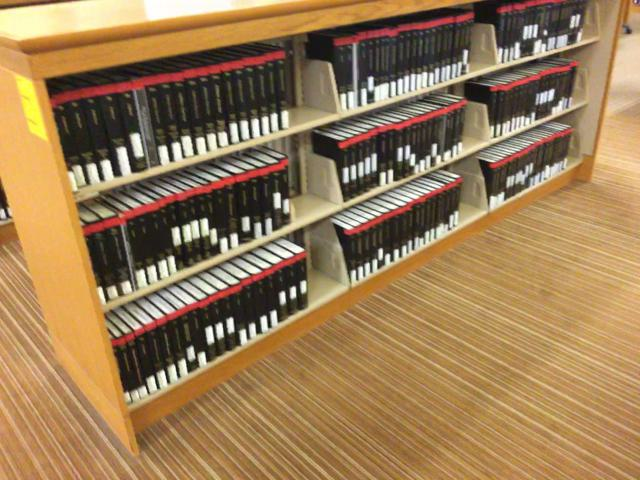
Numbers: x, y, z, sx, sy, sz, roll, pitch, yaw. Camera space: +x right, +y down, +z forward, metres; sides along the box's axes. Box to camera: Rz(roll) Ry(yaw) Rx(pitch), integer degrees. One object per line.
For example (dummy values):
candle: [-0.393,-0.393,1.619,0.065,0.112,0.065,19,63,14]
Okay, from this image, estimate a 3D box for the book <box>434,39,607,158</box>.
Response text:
book: [0.980,-0.710,2.780,0.930,0.300,0.290,-27,32,-30]

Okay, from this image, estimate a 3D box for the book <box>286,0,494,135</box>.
book: [0.290,-0.670,2.110,0.810,0.310,0.220,-27,32,-30]

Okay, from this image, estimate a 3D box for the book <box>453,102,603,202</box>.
book: [1.050,-0.460,2.880,0.850,0.200,0.260,-27,32,-30]

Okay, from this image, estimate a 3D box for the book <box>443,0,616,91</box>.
book: [0.970,-0.970,2.620,0.890,0.330,0.280,-27,32,-30]

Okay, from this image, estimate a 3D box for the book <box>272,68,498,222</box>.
book: [0.290,-0.420,2.330,0.860,0.310,0.380,-27,32,-30]

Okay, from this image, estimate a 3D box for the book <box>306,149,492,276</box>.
book: [0.340,-0.140,2.340,0.740,0.190,0.300,-27,32,-30]

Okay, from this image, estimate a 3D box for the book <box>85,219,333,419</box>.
book: [-0.320,0.220,1.850,0.720,0.280,0.210,-27,32,-30]

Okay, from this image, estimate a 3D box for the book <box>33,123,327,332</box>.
book: [-0.390,-0.080,1.760,0.760,0.300,0.310,-27,32,-30]

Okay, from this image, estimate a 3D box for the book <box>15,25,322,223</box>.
book: [-0.370,-0.350,1.570,0.710,0.310,0.260,-27,32,-30]
